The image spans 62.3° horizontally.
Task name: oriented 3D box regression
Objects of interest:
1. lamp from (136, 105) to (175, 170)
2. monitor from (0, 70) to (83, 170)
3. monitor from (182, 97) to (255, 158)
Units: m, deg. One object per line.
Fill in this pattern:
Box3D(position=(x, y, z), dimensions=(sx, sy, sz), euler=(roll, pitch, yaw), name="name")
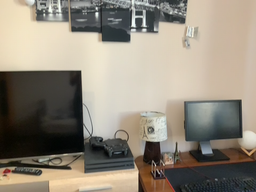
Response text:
Box3D(position=(0.190, 0.290, 1.540), dimensions=(0.220, 0.400, 0.210), euler=(-1, 10, -9), name="lamp")
Box3D(position=(-0.720, 0.140, 1.210), dimensions=(0.890, 0.570, 0.060), euler=(-2, 10, -12), name="monitor")
Box3D(position=(0.690, 0.250, 1.610), dimensions=(0.500, 0.430, 0.050), euler=(7, 9, -13), name="monitor")
